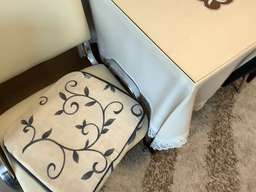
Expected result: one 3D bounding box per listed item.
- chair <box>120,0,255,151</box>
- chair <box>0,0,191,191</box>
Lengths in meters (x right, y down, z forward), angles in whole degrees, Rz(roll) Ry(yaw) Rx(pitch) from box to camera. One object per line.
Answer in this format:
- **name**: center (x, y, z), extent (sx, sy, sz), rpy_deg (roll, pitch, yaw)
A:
- **chair**: center (0.340, -0.220, 1.000), extent (0.500, 0.800, 0.570), rpy_deg (-32, 68, -19)
- **chair**: center (-0.260, 0.050, 0.820), extent (0.500, 0.810, 0.570), rpy_deg (-31, 67, -18)
